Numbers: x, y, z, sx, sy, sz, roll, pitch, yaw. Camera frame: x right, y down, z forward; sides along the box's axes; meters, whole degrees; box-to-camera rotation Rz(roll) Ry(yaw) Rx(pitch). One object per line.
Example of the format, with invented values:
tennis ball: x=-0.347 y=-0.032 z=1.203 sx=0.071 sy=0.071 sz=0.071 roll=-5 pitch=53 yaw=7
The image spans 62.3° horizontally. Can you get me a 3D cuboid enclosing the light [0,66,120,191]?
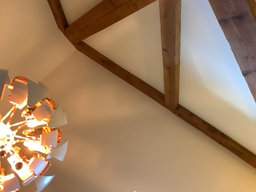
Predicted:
light: x=-0.840 y=0.160 z=1.230 sx=1.640 sy=0.440 sz=0.760 roll=28 pitch=-31 yaw=28
